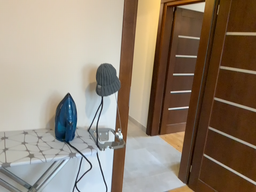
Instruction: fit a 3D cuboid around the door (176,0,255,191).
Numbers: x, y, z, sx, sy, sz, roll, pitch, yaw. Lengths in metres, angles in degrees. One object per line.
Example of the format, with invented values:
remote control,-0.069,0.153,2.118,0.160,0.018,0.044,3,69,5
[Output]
door,0.890,0.140,1.780,0.130,2.100,0.840,-3,17,-29
